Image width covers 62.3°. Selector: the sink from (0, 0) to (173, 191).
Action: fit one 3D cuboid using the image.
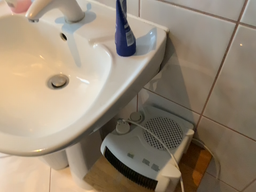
[{"bbox_3d":[-0.240,-0.070,0.570,0.550,0.180,0.440,27,55,22],"label":"sink"}]
